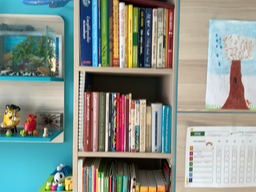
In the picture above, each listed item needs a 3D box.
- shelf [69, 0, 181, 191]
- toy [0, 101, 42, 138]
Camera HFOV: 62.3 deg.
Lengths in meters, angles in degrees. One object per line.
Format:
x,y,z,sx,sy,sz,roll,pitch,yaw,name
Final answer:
-0.020,0.040,0.910,0.360,0.880,0.400,1,3,-2,shelf
-0.740,0.100,1.010,0.600,0.150,0.150,1,3,-1,toy
